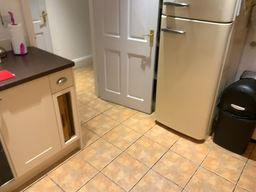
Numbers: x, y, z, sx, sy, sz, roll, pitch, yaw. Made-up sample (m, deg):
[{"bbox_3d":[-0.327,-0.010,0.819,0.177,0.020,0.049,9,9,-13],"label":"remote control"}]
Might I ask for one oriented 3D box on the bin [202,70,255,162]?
[{"bbox_3d":[1.040,0.180,2.010,0.440,0.690,0.320,23,36,33],"label":"bin"}]
